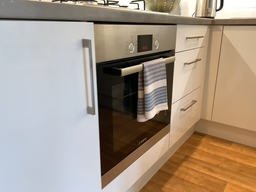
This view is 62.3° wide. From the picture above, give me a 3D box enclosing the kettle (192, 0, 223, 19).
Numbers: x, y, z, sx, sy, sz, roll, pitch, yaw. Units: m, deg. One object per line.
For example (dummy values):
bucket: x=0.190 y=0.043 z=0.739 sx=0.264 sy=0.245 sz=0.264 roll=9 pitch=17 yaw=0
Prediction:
kettle: x=0.620 y=-0.730 z=1.640 sx=0.170 sy=0.250 sz=0.180 roll=13 pitch=22 yaw=35
